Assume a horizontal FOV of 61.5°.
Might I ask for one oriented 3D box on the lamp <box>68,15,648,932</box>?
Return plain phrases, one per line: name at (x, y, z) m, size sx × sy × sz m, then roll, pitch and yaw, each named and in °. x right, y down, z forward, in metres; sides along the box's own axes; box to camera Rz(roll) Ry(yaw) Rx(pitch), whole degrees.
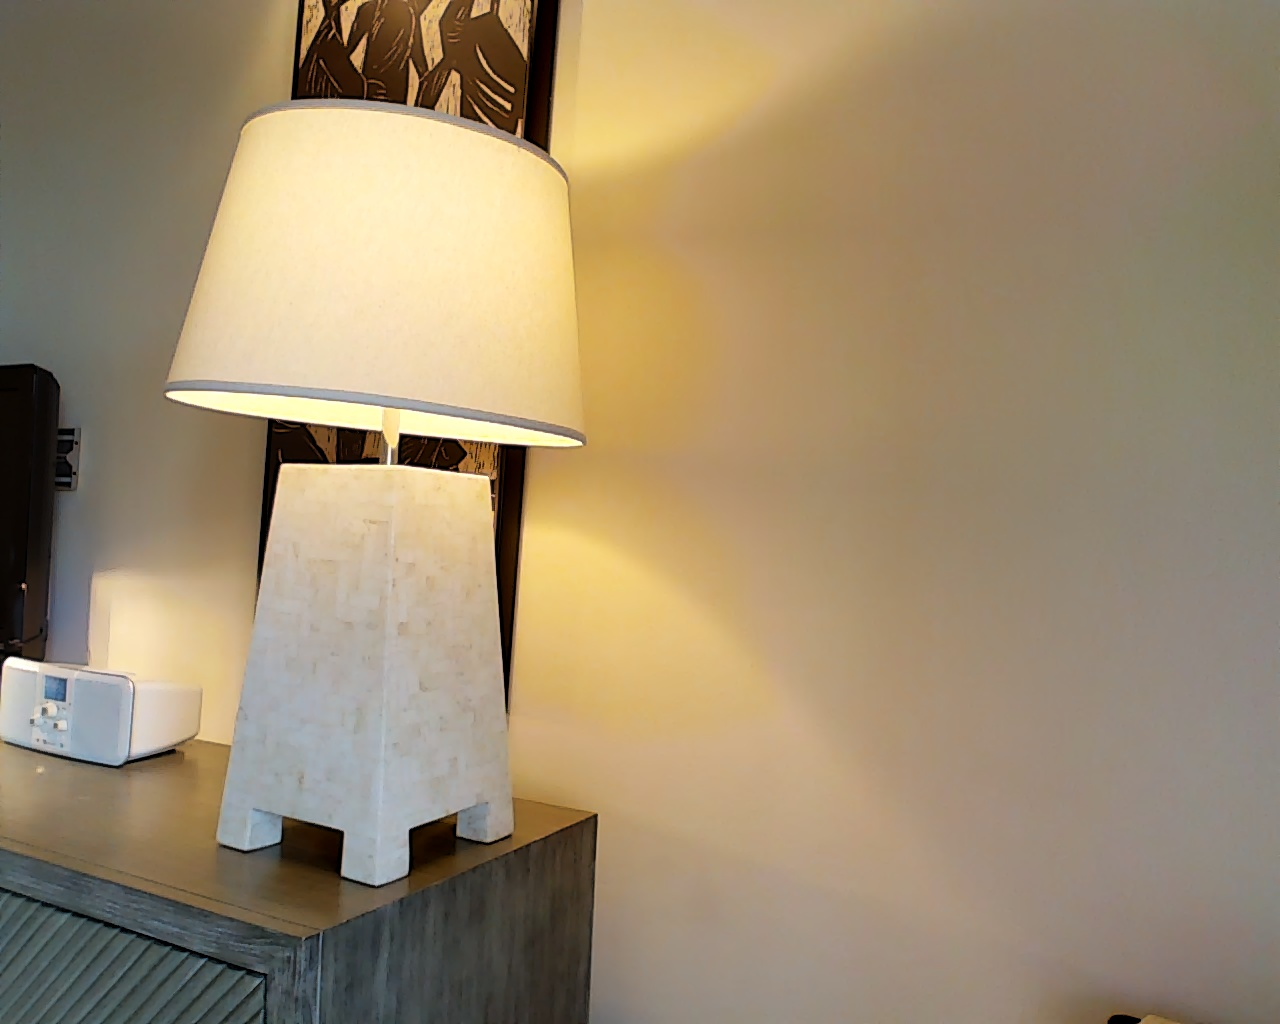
lamp at (-0.330, -0.040, 1.330) m, size 0.500 × 0.870 × 0.430 m, roll 2°, pitch -1°, yaw 29°
